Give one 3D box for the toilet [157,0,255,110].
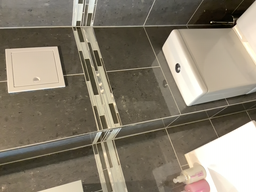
[{"bbox_3d":[0.670,-0.300,0.990,0.620,0.800,0.390,122,135,-58],"label":"toilet"}]
